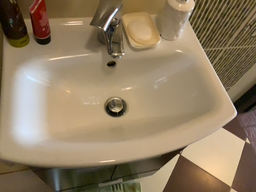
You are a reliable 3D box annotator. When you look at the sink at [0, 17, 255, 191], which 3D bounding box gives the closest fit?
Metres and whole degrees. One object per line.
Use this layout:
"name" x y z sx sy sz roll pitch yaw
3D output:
"sink" -0.020 -0.010 0.540 0.530 0.130 0.380 -7 61 -14
